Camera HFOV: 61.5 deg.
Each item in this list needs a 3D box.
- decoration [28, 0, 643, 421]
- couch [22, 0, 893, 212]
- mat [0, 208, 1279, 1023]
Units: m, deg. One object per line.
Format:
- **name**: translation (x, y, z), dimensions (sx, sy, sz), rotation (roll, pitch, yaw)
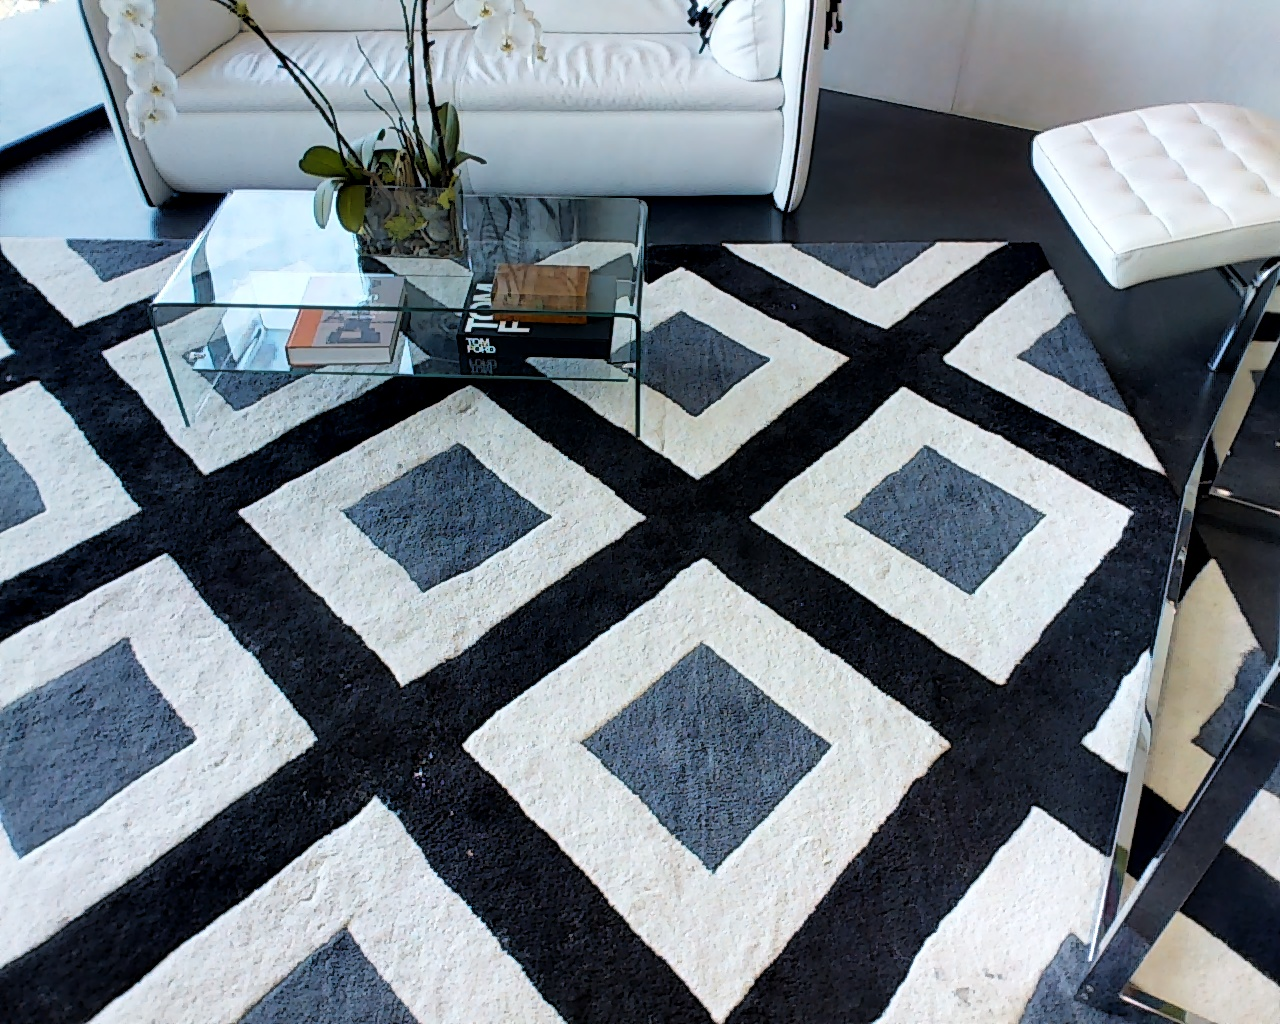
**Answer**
- **decoration**: translation (-0.580, -0.840, 2.410), dimensions (1.130, 1.150, 0.470), rotation (4, 43, 4)
- **couch**: translation (-0.510, -1.590, 3.560), dimensions (2.430, 0.760, 1.040), rotation (0, 42, 0)
- **mat**: translation (-0.440, -0.030, 2.380), dimensions (3.380, 0.070, 2.610), rotation (0, 42, 0)
